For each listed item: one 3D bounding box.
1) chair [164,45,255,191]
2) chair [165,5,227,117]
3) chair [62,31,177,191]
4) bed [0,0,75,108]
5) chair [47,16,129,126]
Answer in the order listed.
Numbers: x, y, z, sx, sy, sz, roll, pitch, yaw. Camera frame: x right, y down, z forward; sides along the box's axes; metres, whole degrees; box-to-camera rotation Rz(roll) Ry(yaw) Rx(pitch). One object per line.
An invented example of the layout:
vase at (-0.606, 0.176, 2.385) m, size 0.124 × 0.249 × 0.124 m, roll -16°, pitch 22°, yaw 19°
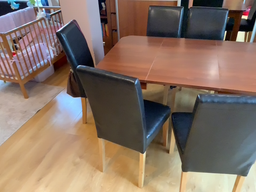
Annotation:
chair at (0.540, 0.250, 1.440) m, size 0.470 × 1.010 × 0.600 m, roll 1°, pitch 35°, yaw 4°
chair at (0.710, -0.380, 2.320) m, size 0.420 × 1.010 × 0.600 m, roll 10°, pitch 37°, yaw 15°
chair at (-0.010, 0.120, 1.630) m, size 0.500 × 1.010 × 0.600 m, roll 15°, pitch 38°, yaw 22°
bed at (-1.510, -0.690, 3.020) m, size 0.730 × 0.960 × 1.390 m, roll 11°, pitch 37°, yaw 16°
chair at (-0.320, -0.230, 2.140) m, size 0.600 × 1.000 × 0.430 m, roll 3°, pitch 36°, yaw 6°
